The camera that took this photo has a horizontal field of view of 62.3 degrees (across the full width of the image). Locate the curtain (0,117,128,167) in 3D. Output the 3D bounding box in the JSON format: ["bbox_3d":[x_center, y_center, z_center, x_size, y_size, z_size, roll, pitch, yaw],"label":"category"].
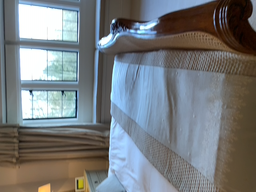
[{"bbox_3d":[-1.180,0.730,3.550,0.370,2.320,0.580,-148,60,-67],"label":"curtain"}]
